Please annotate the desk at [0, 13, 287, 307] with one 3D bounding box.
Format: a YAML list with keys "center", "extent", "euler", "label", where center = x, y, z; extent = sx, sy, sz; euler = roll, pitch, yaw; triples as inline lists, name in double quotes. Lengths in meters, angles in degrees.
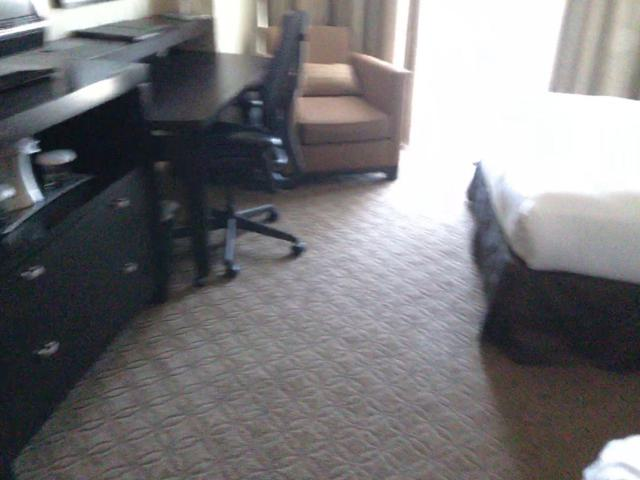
- center: [-0.690, -0.510, 2.850]
  extent: [0.750, 1.000, 1.410]
  euler: [5, 27, 8]
  label: "desk"

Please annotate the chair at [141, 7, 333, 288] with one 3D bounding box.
- center: [-0.390, -0.460, 2.670]
  extent: [0.710, 1.090, 0.690]
  euler: [-6, 27, -14]
  label: "chair"

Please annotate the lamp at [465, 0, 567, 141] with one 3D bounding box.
- center: [1.250, -1.360, 3.640]
  extent: [0.470, 1.410, 0.270]
  euler: [5, 27, 8]
  label: "lamp"

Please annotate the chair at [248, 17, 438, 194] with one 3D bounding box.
- center: [0.080, -0.940, 3.790]
  extent: [0.890, 0.880, 1.050]
  euler: [-7, 27, -15]
  label: "chair"
